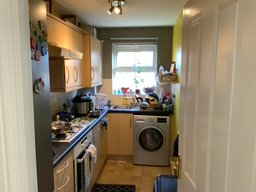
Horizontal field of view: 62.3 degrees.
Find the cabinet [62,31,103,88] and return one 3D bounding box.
[{"bbox_3d":[-0.740,-0.600,3.640,0.430,0.860,0.860,1,8,5],"label":"cabinet"}]

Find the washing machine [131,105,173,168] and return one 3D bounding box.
[{"bbox_3d":[0.420,0.680,3.790,0.670,0.930,0.660,1,7,5],"label":"washing machine"}]

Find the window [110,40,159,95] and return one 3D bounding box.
[{"bbox_3d":[0.130,-0.560,4.180,0.940,1.050,0.120,1,7,6],"label":"window"}]
